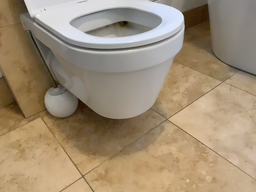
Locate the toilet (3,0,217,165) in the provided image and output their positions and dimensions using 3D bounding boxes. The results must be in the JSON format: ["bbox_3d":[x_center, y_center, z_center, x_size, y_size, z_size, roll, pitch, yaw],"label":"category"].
[{"bbox_3d":[-0.100,-0.300,0.640,0.400,0.700,0.570,-28,42,-28],"label":"toilet"}]
